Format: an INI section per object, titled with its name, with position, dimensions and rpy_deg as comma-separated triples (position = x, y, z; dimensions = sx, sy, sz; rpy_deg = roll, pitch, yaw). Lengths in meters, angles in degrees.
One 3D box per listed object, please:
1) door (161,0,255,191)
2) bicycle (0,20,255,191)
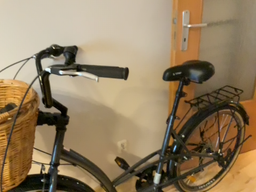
[door]
position = 0.660, -0.300, 1.370
dimensions = 0.840, 2.320, 0.120
rpy_deg = -10, 28, -14
[bicycle]
position = 0.150, 0.260, 1.200
dimensions = 1.970, 1.080, 0.530
rpy_deg = -15, 30, -24
